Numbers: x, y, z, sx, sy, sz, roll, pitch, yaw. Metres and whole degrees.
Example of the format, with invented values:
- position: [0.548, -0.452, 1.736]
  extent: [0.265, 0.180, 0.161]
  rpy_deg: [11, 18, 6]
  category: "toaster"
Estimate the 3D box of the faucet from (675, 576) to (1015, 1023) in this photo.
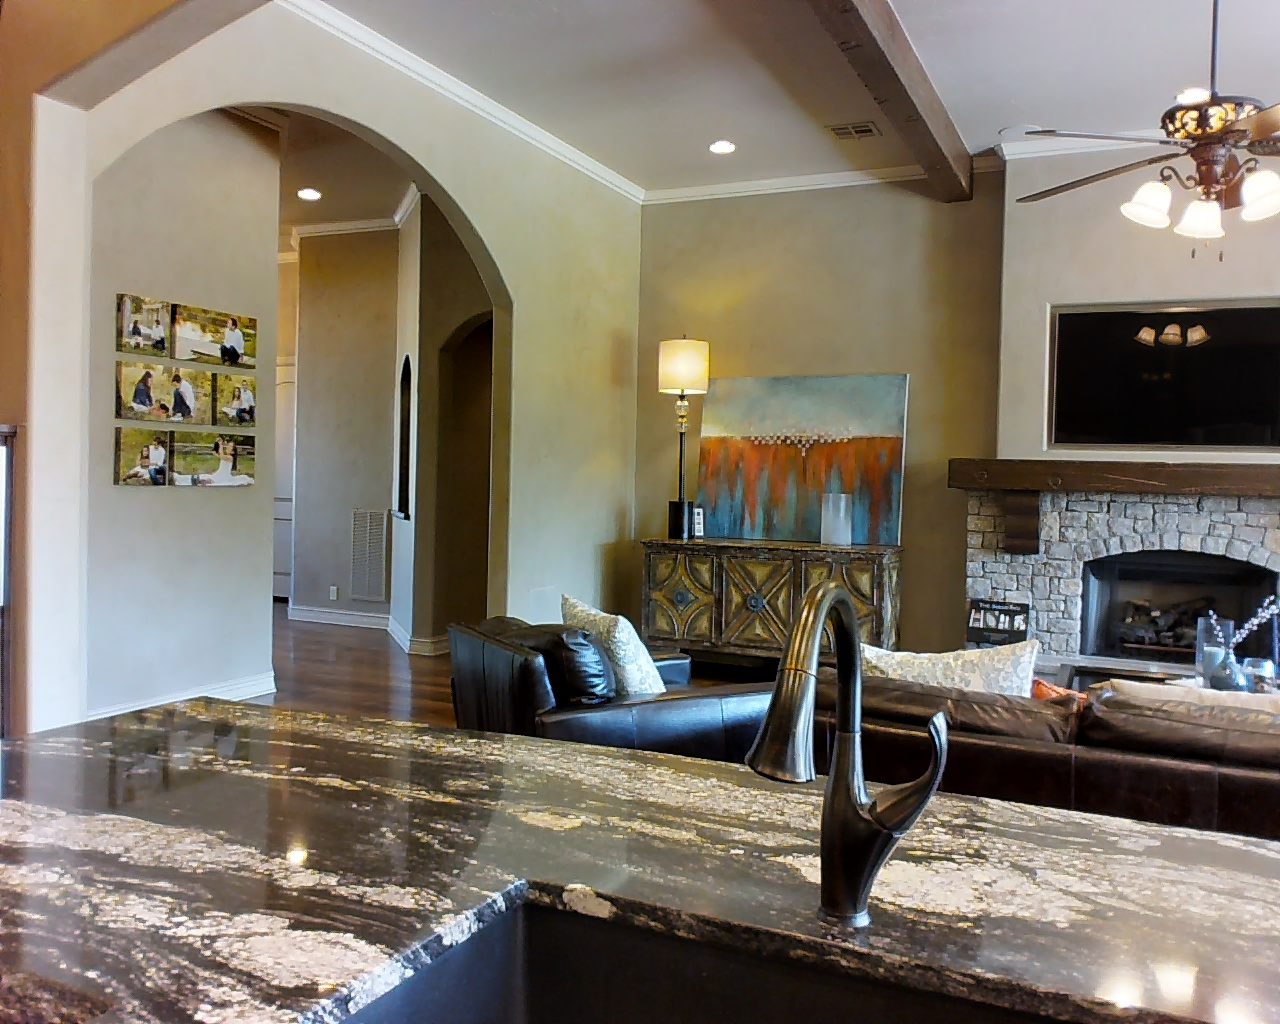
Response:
- position: [0.220, 0.270, 1.070]
  extent: [0.250, 0.380, 0.330]
  rpy_deg: [2, 1, 25]
  category: "faucet"
